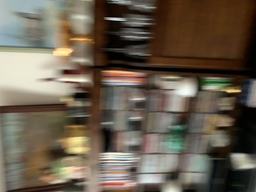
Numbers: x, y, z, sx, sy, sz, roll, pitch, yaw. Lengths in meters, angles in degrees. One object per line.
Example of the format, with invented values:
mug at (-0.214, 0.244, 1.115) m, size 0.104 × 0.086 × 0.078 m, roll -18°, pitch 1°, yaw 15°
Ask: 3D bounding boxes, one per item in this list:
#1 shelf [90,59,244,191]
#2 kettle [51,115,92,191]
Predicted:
shelf at (0.180, 0.210, 1.270) m, size 0.220 × 0.780 × 0.790 m, roll -110°, pitch 23°, yaw -72°
kettle at (-0.310, 0.360, 1.220) m, size 0.250 × 0.180 × 0.440 m, roll -111°, pitch 24°, yaw -73°
